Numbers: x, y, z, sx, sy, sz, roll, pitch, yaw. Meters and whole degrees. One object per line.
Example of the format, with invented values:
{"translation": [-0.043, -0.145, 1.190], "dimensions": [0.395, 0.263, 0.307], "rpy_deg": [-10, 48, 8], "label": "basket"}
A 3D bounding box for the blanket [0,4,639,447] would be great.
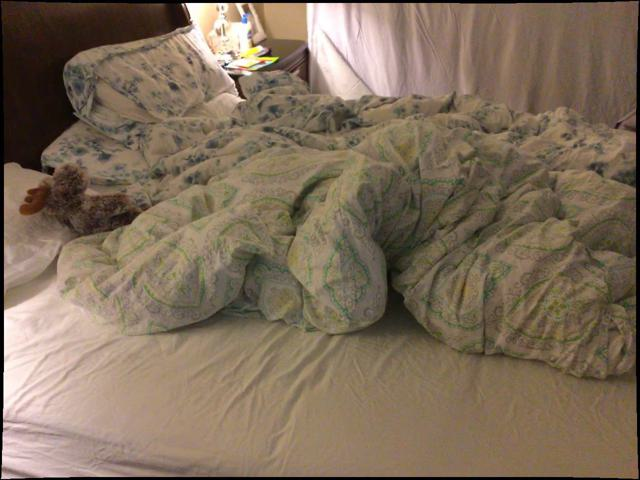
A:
{"translation": [0.070, -0.301, 1.690], "dimensions": [2.115, 0.421, 1.541], "rpy_deg": [7, 33, 14], "label": "blanket"}

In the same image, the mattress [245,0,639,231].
{"translation": [0.658, -1.042, 3.030], "dimensions": [2.096, 1.483, 0.560], "rpy_deg": [14, 35, 24], "label": "mattress"}
